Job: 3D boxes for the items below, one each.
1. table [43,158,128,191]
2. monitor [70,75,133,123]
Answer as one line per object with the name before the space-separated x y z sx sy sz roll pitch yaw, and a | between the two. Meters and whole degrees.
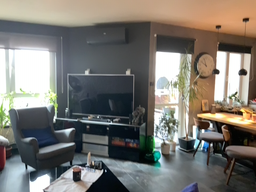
table | -0.560 1.130 2.500 0.740 0.360 0.990 -1 6 -26
monitor | -0.580 0.030 4.300 1.390 0.880 0.090 3 5 23
